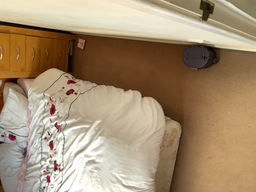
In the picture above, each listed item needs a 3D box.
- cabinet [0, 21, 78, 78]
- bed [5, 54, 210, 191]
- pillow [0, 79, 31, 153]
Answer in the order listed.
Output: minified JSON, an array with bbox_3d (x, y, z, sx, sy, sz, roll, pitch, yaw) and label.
[{"bbox_3d":[-1.210,-0.530,2.420,0.440,1.130,0.550,22,110,43],"label":"cabinet"},{"bbox_3d":[-0.570,0.620,2.200,2.240,0.680,1.740,22,110,43],"label":"bed"},{"bbox_3d":[-1.320,0.200,2.410,0.500,0.220,0.690,21,109,43],"label":"pillow"}]
